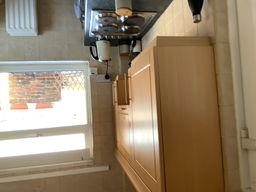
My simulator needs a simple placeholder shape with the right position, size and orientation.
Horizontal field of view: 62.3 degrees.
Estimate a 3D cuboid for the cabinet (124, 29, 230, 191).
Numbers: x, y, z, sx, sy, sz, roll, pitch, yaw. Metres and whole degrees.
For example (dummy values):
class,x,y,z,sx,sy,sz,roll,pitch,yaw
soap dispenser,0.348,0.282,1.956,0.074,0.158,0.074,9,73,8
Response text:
class,x,y,z,sx,sy,sz,roll,pitch,yaw
cabinet,0.220,0.150,1.260,0.320,0.870,0.650,-3,178,-12
